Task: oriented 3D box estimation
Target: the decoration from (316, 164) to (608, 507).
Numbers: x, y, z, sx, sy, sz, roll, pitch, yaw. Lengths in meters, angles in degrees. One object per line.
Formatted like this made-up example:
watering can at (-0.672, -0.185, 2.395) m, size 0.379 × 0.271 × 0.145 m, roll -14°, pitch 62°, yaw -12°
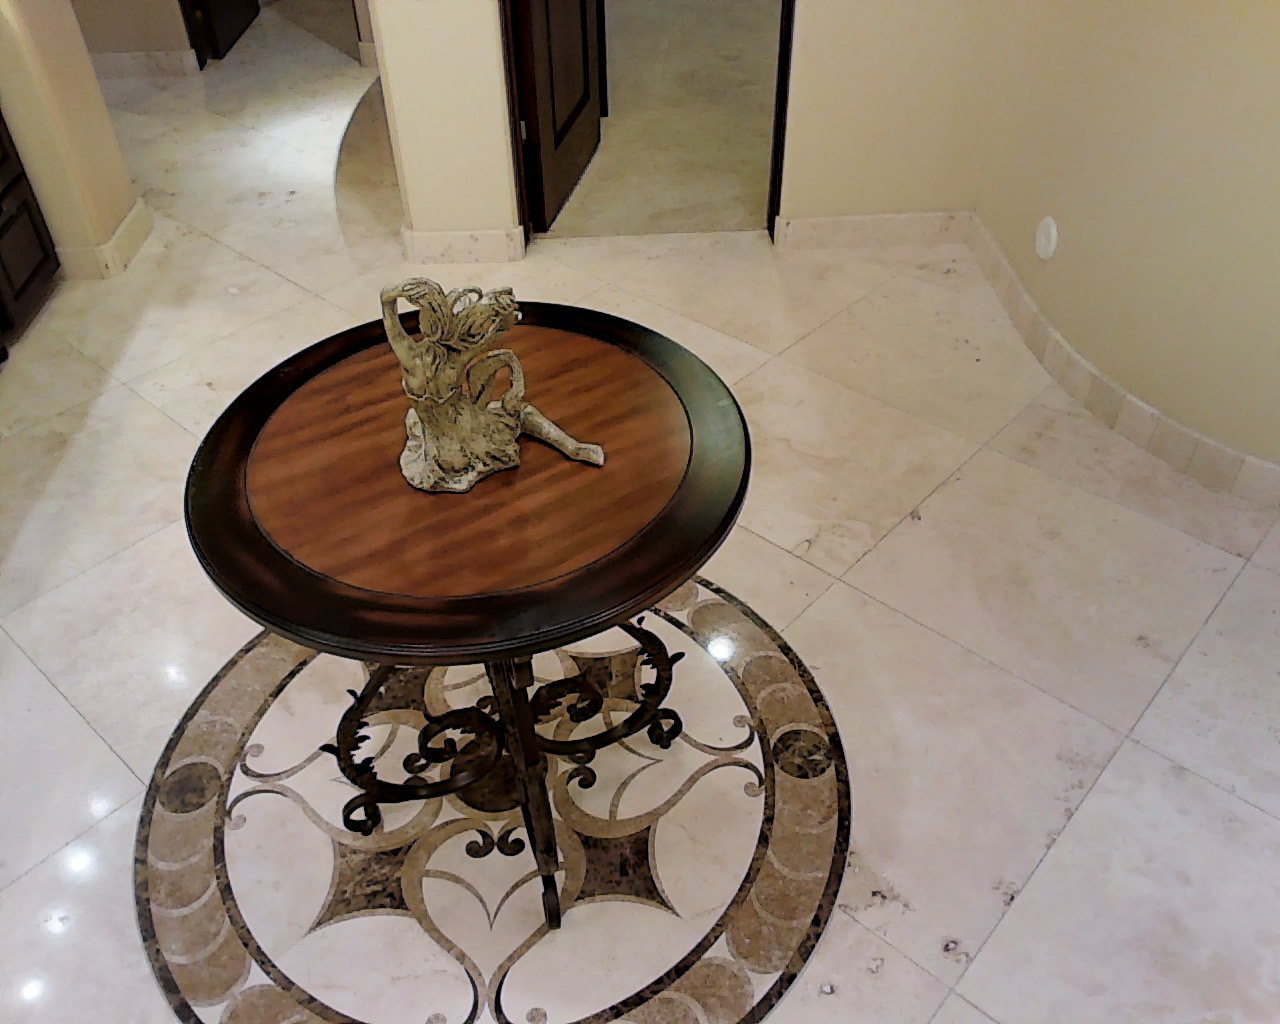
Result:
decoration at (-0.200, -0.210, 1.250) m, size 0.250 × 0.280 × 0.210 m, roll -18°, pitch 43°, yaw -18°

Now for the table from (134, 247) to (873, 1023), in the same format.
table at (-0.210, 0.170, 1.590) m, size 0.750 × 0.740 × 0.760 m, roll -12°, pitch 42°, yaw -12°
